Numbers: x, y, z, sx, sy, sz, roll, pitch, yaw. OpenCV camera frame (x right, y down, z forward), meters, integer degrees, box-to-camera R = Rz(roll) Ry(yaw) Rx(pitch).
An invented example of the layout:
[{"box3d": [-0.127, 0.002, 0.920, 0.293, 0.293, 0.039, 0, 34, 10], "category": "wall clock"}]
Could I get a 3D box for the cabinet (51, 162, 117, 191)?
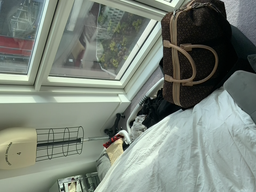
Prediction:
[{"box3d": [-0.470, 0.980, 2.220, 0.440, 0.500, 0.310, -54, 50, 38], "category": "cabinet"}]
